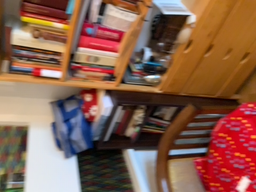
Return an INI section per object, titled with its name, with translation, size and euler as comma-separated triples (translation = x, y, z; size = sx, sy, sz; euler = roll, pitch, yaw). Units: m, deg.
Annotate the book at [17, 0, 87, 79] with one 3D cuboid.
[book]
translation = -0.350, -0.400, 0.960
size = 0.270, 0.240, 0.590
euler = -110, 35, -42
